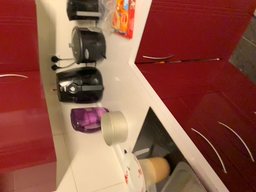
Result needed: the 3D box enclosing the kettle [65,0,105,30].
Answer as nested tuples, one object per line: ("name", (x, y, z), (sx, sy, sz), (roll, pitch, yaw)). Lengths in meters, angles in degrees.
("kettle", (-0.290, -0.580, 1.410), (0.150, 0.210, 0.220), (58, 144, 41))
